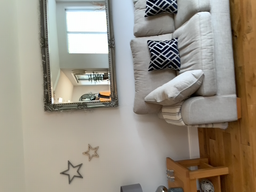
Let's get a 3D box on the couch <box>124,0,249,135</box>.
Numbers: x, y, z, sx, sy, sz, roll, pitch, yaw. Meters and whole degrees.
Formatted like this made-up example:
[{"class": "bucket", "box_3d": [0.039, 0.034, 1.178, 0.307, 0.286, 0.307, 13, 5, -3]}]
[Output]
[{"class": "couch", "box_3d": [0.540, -0.800, 2.530, 1.090, 0.930, 2.270, 171, 96, -79]}]
